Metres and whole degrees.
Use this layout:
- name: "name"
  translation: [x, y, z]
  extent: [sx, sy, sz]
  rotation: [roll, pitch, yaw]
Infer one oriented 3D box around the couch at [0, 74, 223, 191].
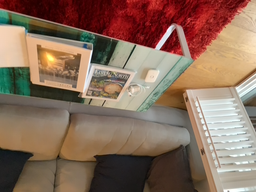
- name: "couch"
  translation: [-0.590, 0.510, 1.860]
  extent: [2.420, 0.780, 1.030]
  rotation: [8, 145, -21]
